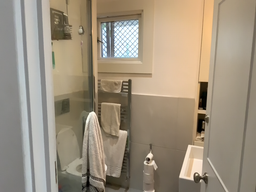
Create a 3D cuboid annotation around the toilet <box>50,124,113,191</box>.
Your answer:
[{"bbox_3d":[-0.500,0.790,2.360,0.540,0.820,0.390,5,10,20],"label":"toilet"}]
